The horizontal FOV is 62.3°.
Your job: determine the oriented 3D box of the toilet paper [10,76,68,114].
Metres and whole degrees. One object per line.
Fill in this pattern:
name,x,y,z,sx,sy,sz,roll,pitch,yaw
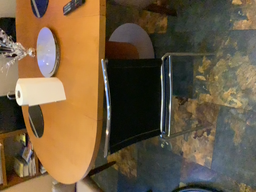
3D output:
toilet paper,-0.540,-0.020,1.290,0.240,0.240,0.180,9,103,45

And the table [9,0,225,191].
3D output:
table,-0.290,-0.230,1.690,1.340,0.820,1.820,33,120,38
